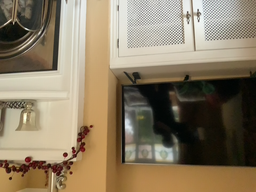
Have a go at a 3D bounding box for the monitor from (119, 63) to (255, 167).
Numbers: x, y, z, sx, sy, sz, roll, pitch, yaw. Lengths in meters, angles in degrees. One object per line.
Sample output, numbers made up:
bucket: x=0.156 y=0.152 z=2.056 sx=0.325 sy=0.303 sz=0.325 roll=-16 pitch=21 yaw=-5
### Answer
monitor: x=0.510 y=0.140 z=1.600 sx=1.180 sy=0.720 sz=0.060 roll=-2 pitch=169 yaw=14
